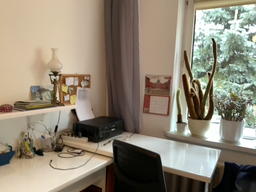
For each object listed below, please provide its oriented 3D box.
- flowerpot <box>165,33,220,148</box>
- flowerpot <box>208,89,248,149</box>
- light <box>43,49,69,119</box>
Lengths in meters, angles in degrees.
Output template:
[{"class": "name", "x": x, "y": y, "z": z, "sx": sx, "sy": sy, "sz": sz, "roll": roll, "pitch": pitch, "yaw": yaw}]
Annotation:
[{"class": "flowerpot", "x": 0.620, "y": -0.060, "z": 2.030, "sx": 0.350, "sy": 0.980, "sz": 0.340, "roll": 6, "pitch": 6, "yaw": 33}, {"class": "flowerpot", "x": 0.940, "y": 0.200, "z": 2.000, "sx": 0.280, "sy": 0.510, "sz": 0.190, "roll": 6, "pitch": 6, "yaw": 33}, {"class": "light", "x": -0.620, "y": -0.100, "z": 1.830, "sx": 0.090, "sy": 0.570, "sz": 0.180, "roll": 6, "pitch": 6, "yaw": 30}]
